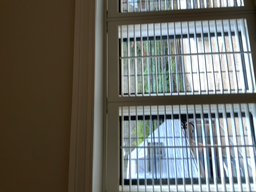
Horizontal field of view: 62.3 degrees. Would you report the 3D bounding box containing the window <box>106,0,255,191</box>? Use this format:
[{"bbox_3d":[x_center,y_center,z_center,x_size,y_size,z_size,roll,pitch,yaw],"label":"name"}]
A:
[{"bbox_3d":[0.410,-0.570,1.700,0.060,1.130,2.640,74,-165,-76],"label":"window"}]
